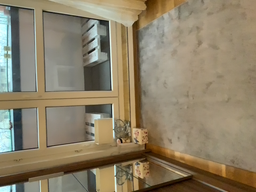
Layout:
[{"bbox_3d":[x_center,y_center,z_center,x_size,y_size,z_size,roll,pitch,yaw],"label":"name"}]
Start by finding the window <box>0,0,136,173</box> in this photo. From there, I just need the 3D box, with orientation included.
[{"bbox_3d":[-1.070,-0.280,2.180,0.220,2.420,1.960,-9,84,60],"label":"window"}]
